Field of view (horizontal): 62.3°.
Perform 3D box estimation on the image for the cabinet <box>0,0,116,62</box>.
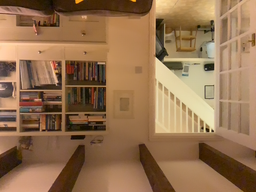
[{"bbox_3d":[-0.880,-0.940,2.390,1.470,1.030,0.460,0,-179,-4],"label":"cabinet"}]
